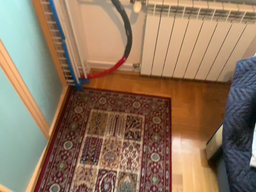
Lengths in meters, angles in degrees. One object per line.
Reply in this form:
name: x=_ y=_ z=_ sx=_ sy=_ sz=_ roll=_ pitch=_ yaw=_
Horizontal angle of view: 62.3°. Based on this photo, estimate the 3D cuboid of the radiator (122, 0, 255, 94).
radiator: x=0.380 y=-0.320 z=1.440 sx=0.830 sy=0.720 sz=0.150 roll=5 pitch=54 yaw=1
